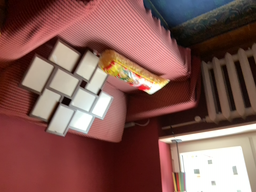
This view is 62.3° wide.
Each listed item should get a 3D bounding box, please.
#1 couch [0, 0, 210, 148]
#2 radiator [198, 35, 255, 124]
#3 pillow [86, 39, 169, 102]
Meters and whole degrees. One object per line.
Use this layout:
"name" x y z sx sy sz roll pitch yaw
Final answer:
"couch" -0.190 -0.190 1.610 1.030 0.830 1.450 -17 151 32
"radiator" 0.930 -0.130 1.800 0.510 0.620 0.200 -18 151 33
"pillow" 0.030 -0.150 1.580 0.260 0.130 0.670 -18 151 33
